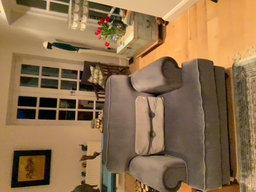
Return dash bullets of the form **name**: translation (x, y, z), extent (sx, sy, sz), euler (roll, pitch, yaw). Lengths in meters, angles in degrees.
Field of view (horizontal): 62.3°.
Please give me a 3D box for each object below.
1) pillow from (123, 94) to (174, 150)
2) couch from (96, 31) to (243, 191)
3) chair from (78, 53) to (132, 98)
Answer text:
- **pillow**: translation (0.210, 0.250, 2.070), extent (0.420, 0.340, 0.120), euler (-62, 16, -18)
- **couch**: translation (0.290, 0.240, 2.090), extent (1.110, 0.920, 1.240), euler (167, 106, -67)
- **chair**: translation (-0.460, -0.370, 4.030), extent (0.540, 0.830, 0.580), euler (-114, 35, -49)
